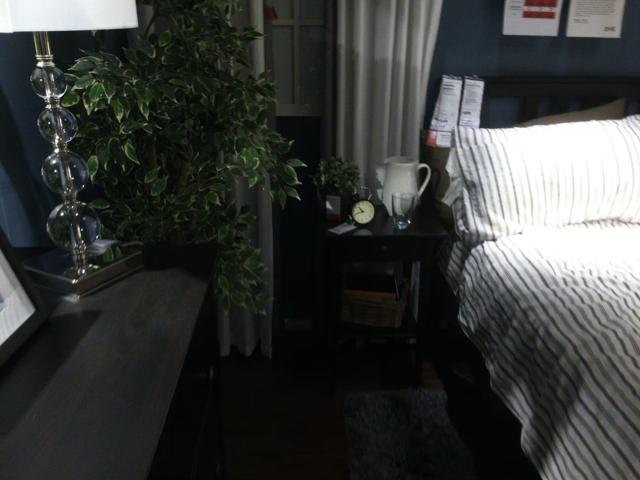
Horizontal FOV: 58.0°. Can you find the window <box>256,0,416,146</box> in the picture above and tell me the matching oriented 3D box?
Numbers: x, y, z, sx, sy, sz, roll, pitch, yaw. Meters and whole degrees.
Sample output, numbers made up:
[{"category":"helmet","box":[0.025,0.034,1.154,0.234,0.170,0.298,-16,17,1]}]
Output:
[{"category":"window","box":[0.060,-0.840,2.200,0.570,0.920,0.090,-7,30,1]}]

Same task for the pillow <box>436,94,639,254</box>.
[{"category":"pillow","box":[0.940,-0.260,2.090,0.960,0.420,0.320,-7,21,1]}]

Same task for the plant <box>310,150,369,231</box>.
[{"category":"plant","box":[0.070,-0.190,2.160,0.190,0.230,0.210,-7,21,1]}]

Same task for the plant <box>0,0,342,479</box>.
[{"category":"plant","box":[-0.370,-0.050,1.740,0.680,1.660,0.780,-7,21,1]}]

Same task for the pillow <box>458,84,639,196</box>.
[{"category":"pillow","box":[0.990,-0.400,2.190,0.820,0.250,0.440,-7,21,1]}]
